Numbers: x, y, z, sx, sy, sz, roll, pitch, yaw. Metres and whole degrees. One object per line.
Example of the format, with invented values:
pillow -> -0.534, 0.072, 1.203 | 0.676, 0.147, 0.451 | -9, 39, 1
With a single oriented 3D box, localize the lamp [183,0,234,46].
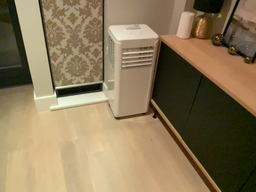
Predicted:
lamp -> 0.610, -0.620, 1.620 | 0.180, 0.390, 0.230 | -10, 39, -20

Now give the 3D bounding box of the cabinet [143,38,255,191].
cabinet -> 0.670, 0.340, 1.380 | 0.420, 0.850, 1.560 | -9, 39, -20
